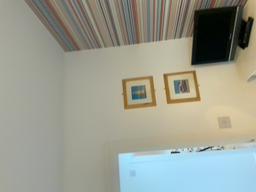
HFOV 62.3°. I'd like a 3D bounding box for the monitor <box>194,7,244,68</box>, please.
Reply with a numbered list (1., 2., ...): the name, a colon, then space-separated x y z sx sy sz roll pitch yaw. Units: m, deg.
1. monitor: 0.620 -0.390 1.480 0.020 0.300 0.390 -92 -6 -56
